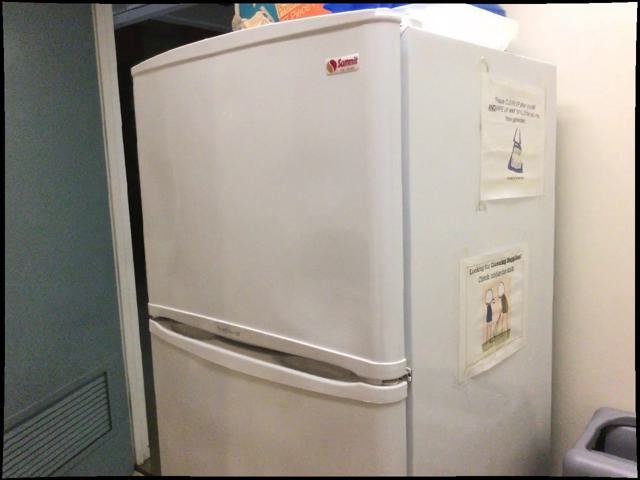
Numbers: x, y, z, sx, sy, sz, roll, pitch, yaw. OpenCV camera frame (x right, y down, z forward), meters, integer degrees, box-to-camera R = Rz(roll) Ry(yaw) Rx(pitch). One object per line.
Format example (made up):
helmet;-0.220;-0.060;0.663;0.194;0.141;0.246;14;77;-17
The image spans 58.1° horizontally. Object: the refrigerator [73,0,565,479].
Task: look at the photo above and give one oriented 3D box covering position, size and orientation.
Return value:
refrigerator;0.050;0.451;1.360;0.789;1.714;0.699;4;11;38
